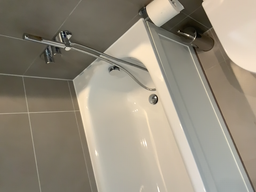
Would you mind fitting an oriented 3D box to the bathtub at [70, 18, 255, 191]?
[{"bbox_3d":[0.260,0.500,1.240,0.690,0.560,1.630,-31,69,38],"label":"bathtub"}]

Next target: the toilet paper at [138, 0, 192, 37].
[{"bbox_3d":[0.180,-0.390,1.020,0.150,0.210,0.090,-32,68,37],"label":"toilet paper"}]
